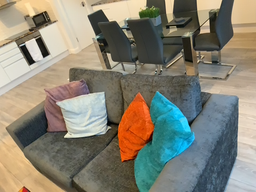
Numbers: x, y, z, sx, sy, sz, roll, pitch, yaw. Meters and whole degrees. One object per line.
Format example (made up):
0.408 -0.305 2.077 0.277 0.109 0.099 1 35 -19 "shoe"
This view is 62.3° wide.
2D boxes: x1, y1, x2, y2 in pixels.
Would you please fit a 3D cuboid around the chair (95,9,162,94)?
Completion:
0.050 -0.620 3.010 0.460 0.990 0.550 12 42 40 "chair"

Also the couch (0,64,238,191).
-0.120 0.350 1.740 1.650 0.810 0.920 9 40 37 "couch"

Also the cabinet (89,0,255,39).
0.780 -1.820 4.650 3.850 0.880 0.660 11 42 39 "cabinet"

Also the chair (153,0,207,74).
0.790 -0.910 3.080 0.450 1.000 0.530 11 42 39 "chair"

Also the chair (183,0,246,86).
1.090 -0.700 2.620 0.500 0.990 0.480 15 44 42 "chair"
